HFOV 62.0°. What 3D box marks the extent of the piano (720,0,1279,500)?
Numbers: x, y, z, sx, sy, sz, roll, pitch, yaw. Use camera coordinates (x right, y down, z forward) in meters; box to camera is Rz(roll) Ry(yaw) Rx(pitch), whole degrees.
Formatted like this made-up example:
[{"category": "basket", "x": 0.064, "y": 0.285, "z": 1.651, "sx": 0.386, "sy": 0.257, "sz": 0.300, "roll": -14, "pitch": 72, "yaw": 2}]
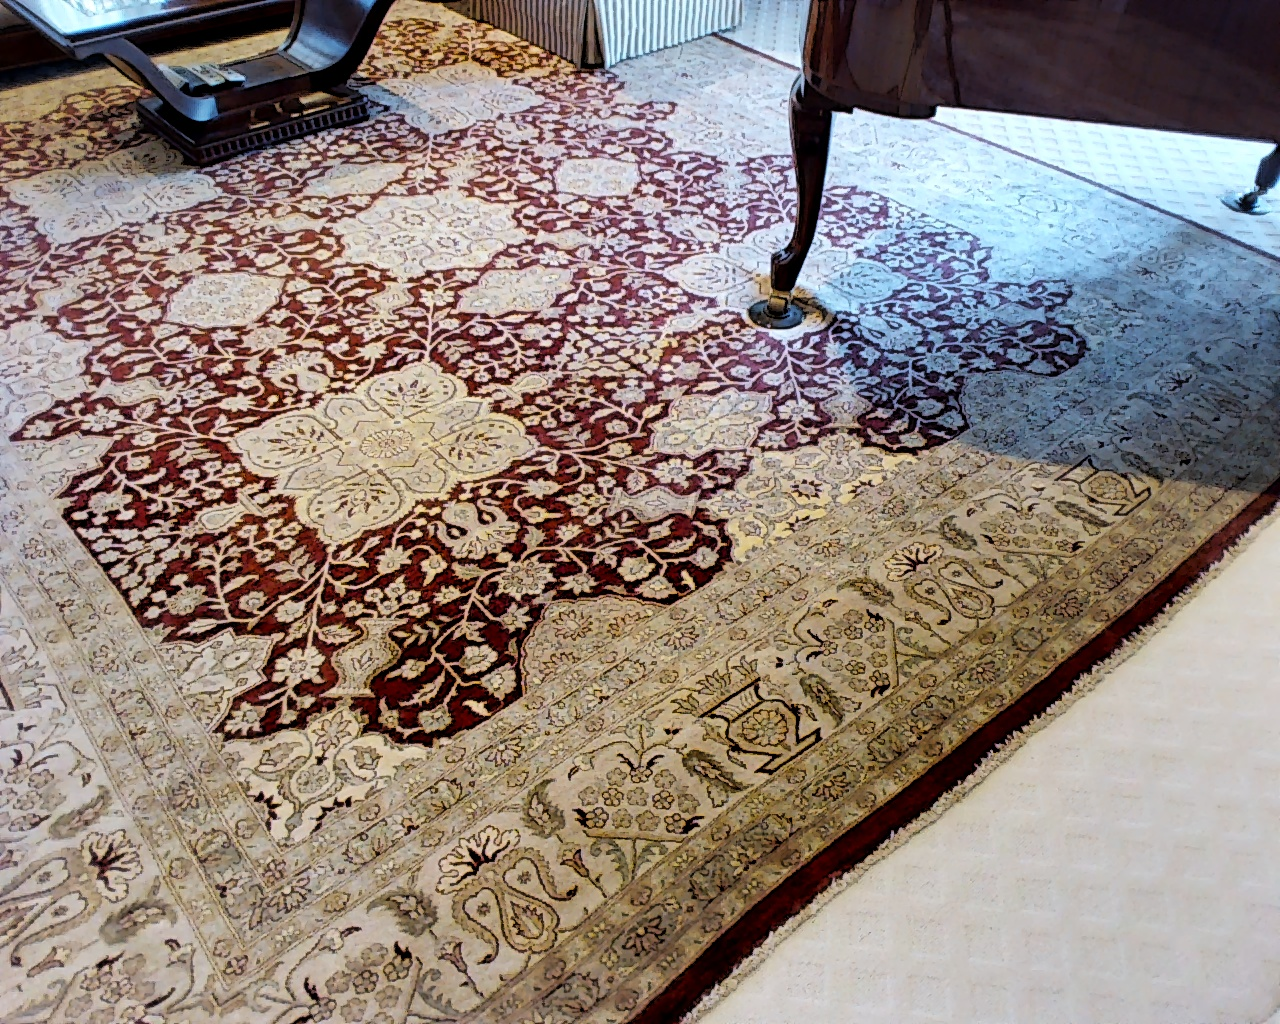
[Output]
[{"category": "piano", "x": 1.240, "y": -0.950, "z": 2.460, "sx": 1.840, "sy": 1.010, "sz": 1.580, "roll": 8, "pitch": 42, "yaw": 8}]
